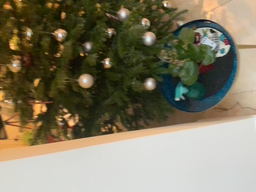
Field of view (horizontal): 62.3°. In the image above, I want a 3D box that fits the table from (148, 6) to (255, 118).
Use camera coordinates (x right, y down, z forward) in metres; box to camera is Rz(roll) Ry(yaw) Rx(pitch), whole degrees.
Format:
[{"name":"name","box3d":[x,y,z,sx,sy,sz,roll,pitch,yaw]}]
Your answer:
[{"name":"table","box3d":[0.480,-0.150,1.310,0.480,0.430,0.490,-16,79,48]}]
